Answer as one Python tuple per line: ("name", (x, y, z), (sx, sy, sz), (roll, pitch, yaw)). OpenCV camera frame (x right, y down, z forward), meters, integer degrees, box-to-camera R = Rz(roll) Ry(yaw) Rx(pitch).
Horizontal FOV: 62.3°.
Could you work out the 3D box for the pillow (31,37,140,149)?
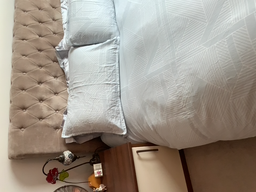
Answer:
("pillow", (-0.280, -0.030, 1.630), (0.230, 0.460, 0.710), (-20, 30, 52))
